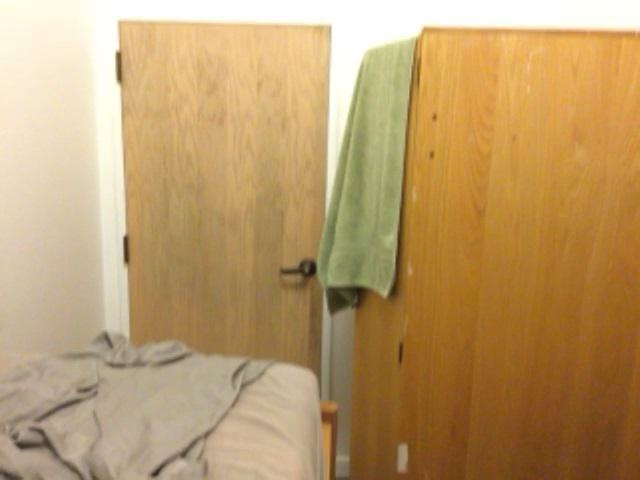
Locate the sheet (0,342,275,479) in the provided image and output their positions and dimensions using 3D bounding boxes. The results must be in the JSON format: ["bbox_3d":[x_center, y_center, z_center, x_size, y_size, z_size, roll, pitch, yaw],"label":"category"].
[{"bbox_3d":[-0.530,0.380,0.520,0.760,0.040,1.630,1,9,3],"label":"sheet"}]

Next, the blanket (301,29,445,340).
[{"bbox_3d":[0.150,-0.160,1.790,0.180,0.850,0.390,-9,5,-24],"label":"blanket"}]
